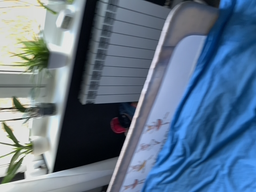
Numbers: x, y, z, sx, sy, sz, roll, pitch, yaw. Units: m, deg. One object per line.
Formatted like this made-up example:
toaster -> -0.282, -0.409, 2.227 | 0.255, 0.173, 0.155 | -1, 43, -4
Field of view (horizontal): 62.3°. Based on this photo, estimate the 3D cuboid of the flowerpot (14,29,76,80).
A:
flowerpot -> -0.560, -0.270, 1.410 | 0.310, 0.300, 0.200 | 45, 126, 42
